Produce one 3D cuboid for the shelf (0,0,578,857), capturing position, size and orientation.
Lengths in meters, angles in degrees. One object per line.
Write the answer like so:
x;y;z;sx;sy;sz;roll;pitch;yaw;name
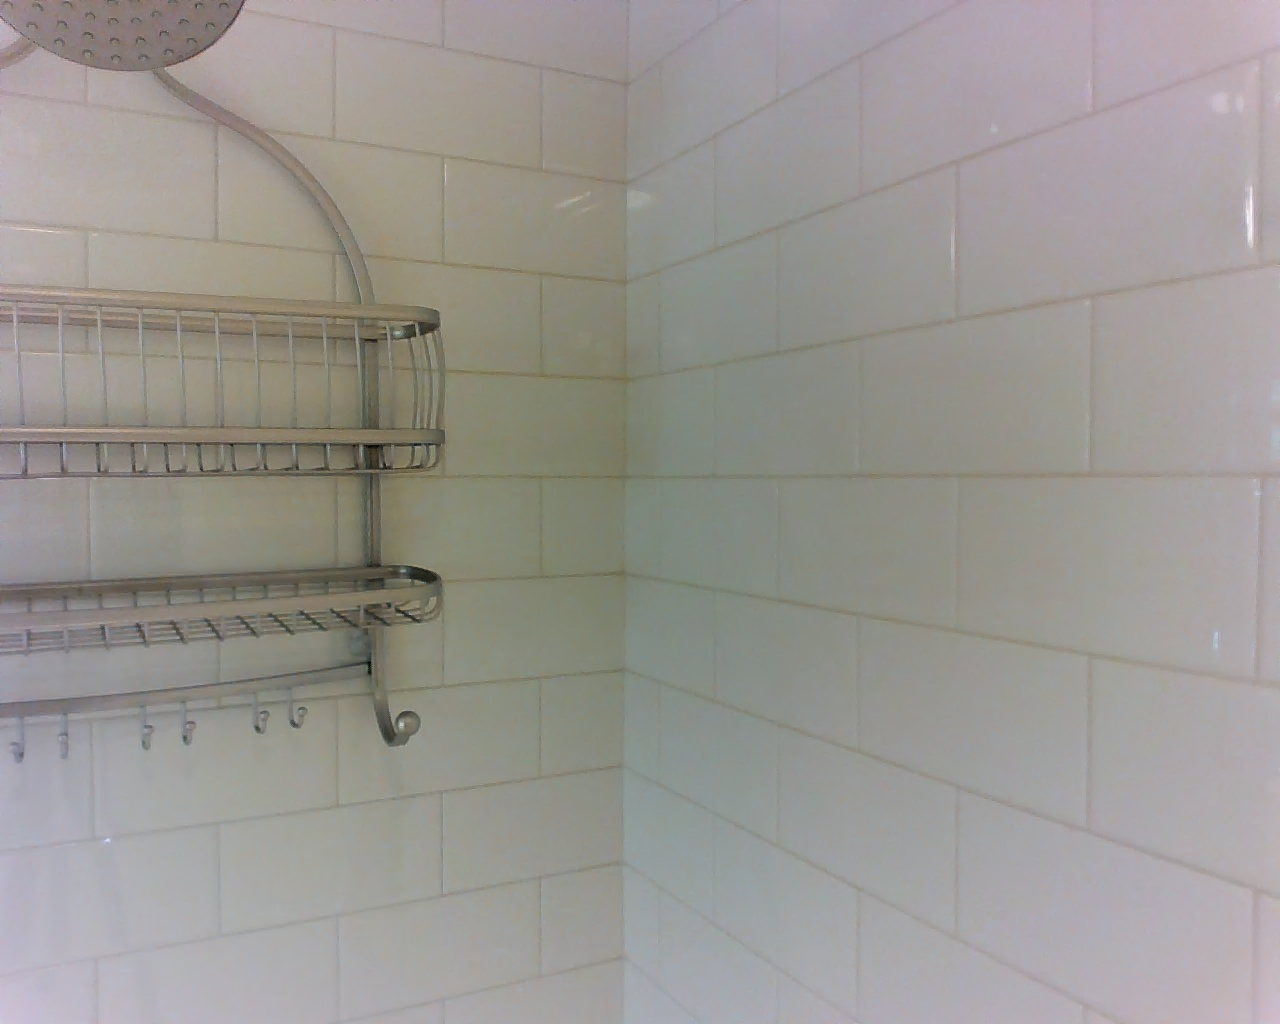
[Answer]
-0.280;-0.100;0.590;0.440;0.500;0.210;0;2;-28;shelf
